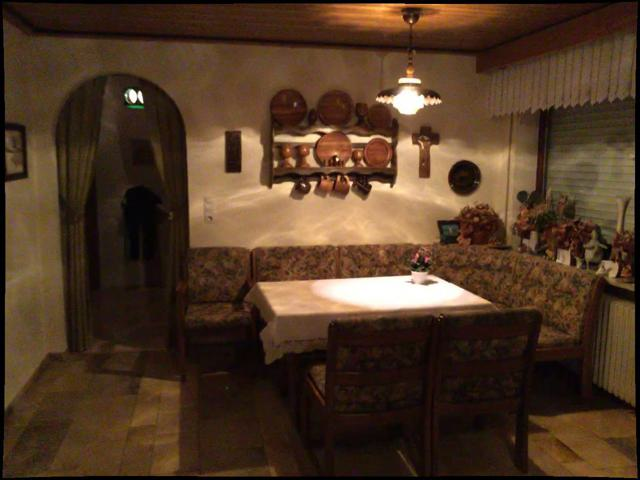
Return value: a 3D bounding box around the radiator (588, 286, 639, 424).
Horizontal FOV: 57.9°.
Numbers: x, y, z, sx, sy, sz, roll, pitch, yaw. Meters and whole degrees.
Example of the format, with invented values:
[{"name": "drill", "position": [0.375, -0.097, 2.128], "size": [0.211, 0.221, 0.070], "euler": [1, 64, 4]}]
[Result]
[{"name": "radiator", "position": [1.968, 0.731, 3.190], "size": [0.220, 0.691, 1.120], "euler": [-2, 10, -11]}]
